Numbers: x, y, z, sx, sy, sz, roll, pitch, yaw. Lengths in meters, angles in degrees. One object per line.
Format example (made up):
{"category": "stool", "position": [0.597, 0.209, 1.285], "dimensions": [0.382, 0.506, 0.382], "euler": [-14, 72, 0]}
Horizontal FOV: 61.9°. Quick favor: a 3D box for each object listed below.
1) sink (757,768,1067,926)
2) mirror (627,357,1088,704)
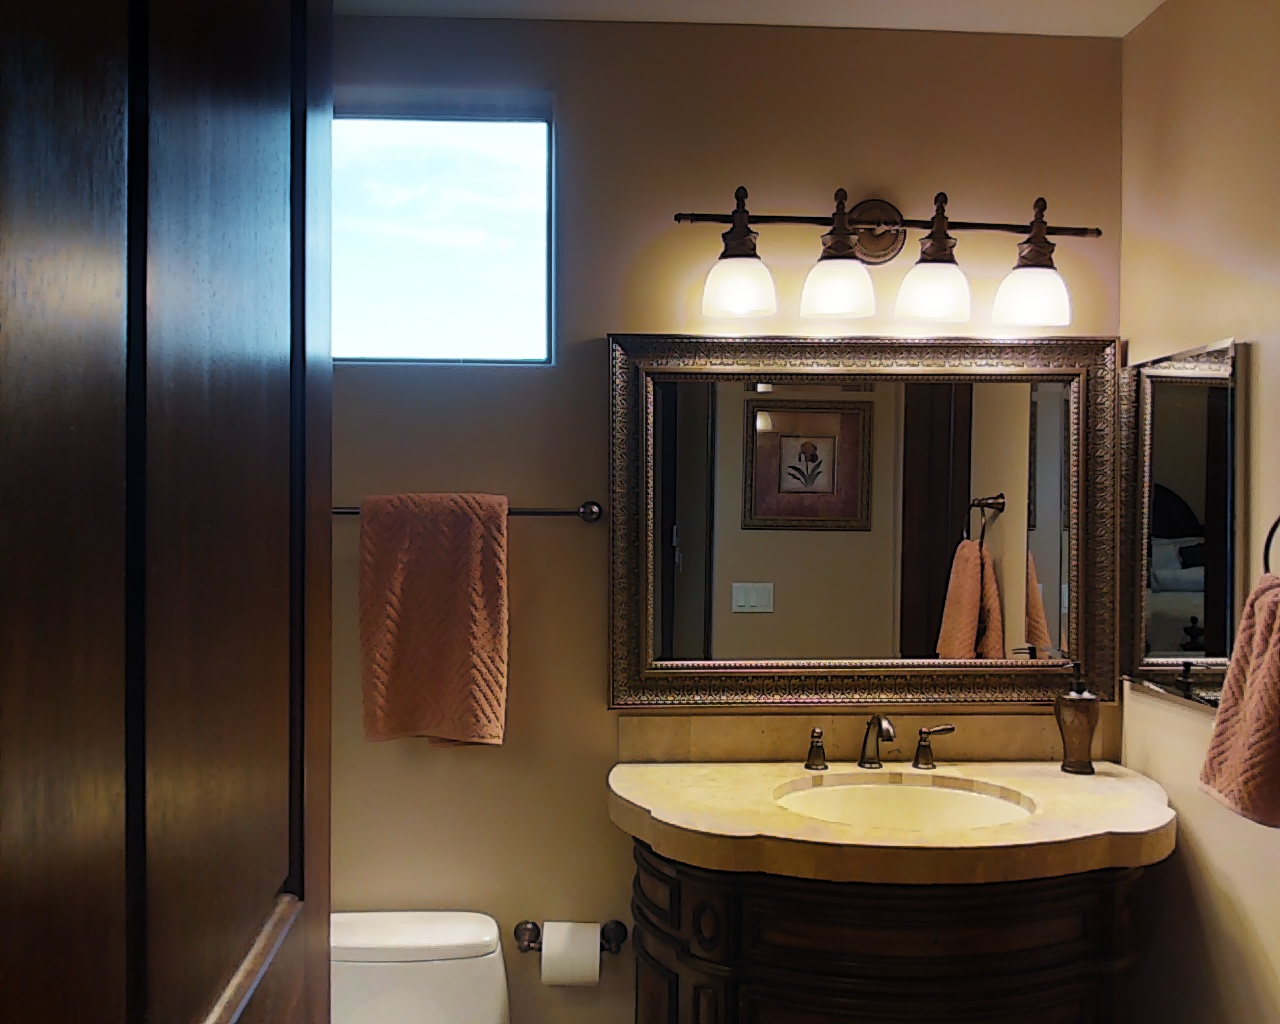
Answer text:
{"category": "sink", "position": [0.490, 0.620, 2.020], "dimensions": [0.480, 0.170, 0.370], "euler": [0, 1, -3]}
{"category": "mirror", "position": [0.460, 0.040, 2.270], "dimensions": [0.970, 0.720, 0.060], "euler": [0, 1, -3]}
